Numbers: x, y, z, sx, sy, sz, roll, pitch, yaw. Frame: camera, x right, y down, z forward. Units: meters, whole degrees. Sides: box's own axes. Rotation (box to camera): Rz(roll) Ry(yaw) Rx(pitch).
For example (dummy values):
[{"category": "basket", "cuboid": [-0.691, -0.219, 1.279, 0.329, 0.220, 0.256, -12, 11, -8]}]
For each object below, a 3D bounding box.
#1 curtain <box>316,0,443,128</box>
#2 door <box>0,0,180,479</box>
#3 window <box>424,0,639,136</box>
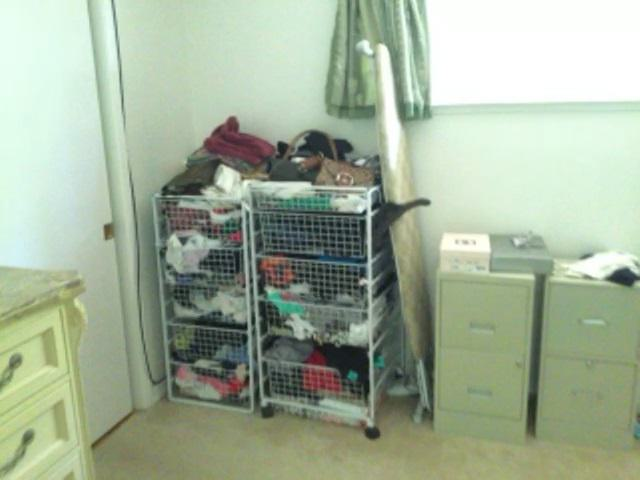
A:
[{"category": "curtain", "cuboid": [0.270, -0.810, 2.560, 0.480, 0.580, 0.260, 1, 12, 24]}, {"category": "door", "cuboid": [-1.000, -0.020, 2.260, 0.190, 1.910, 0.860, 1, 12, 24]}, {"category": "window", "cuboid": [0.890, -0.750, 2.430, 0.830, 0.560, 0.290, 1, 12, 24]}]
